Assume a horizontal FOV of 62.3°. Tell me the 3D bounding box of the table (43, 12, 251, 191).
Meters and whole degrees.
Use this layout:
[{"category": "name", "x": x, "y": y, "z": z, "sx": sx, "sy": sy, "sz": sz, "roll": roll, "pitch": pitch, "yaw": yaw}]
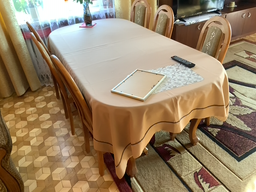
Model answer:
[{"category": "table", "x": -0.090, "y": -0.210, "z": 2.230, "sx": 1.050, "sy": 0.760, "sz": 2.070, "roll": -18, "pitch": 37, "yaw": -21}]
